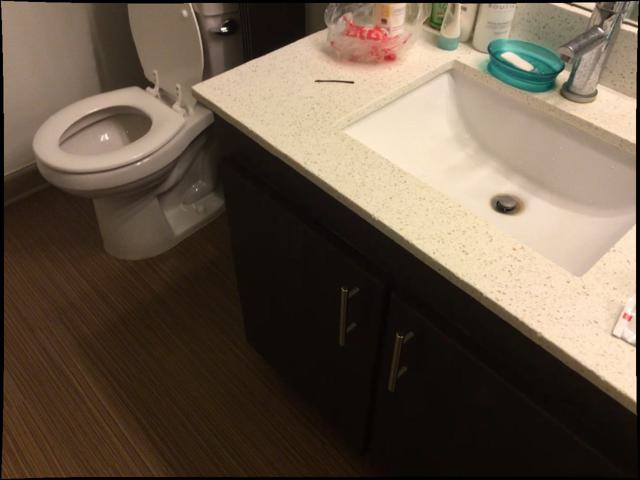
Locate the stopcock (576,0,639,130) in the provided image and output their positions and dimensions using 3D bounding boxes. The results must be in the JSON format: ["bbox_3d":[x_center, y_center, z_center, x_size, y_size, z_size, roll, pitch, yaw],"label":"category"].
[{"bbox_3d":[0.509,-0.311,0.910,0.140,0.220,0.080,-35,55,-27],"label":"stopcock"}]

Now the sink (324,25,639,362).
[{"bbox_3d":[0.319,-0.120,0.970,0.400,0.200,0.480,-35,55,-27],"label":"sink"}]

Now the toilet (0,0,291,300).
[{"bbox_3d":[-0.519,-0.391,1.700,0.690,0.801,0.450,-35,55,-27],"label":"toilet"}]
